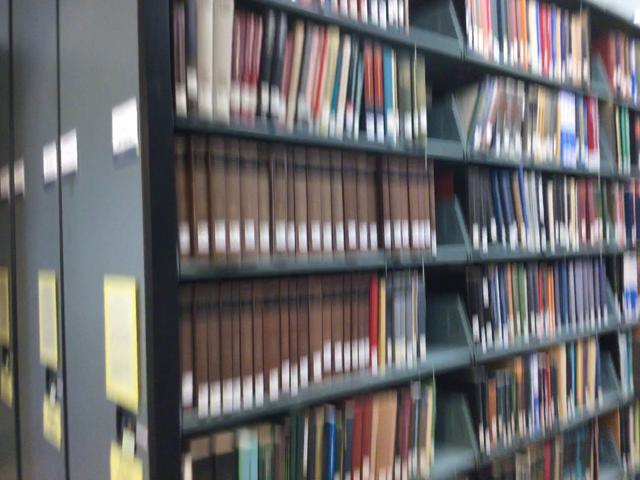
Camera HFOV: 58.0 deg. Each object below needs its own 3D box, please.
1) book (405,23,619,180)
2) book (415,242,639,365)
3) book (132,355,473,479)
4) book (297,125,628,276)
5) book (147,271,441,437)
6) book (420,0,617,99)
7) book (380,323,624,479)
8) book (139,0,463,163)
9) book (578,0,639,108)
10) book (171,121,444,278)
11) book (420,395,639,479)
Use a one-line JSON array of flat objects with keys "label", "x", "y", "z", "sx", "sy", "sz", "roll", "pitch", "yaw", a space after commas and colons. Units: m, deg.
[{"label": "book", "x": 0.690, "y": -0.420, "z": 1.960, "sx": 0.940, "sy": 0.360, "sz": 0.190, "roll": -1, "pitch": -2, "yaw": -38}, {"label": "book", "x": 0.840, "y": 0.180, "z": 2.070, "sx": 1.210, "sy": 0.330, "sz": 0.220, "roll": -1, "pitch": -2, "yaw": -38}, {"label": "book", "x": 0.000, "y": 0.530, "z": 1.440, "sx": 0.840, "sy": 0.340, "sz": 0.280, "roll": -1, "pitch": -2, "yaw": -38}, {"label": "book", "x": 0.540, "y": -0.100, "z": 2.210, "sx": 0.960, "sy": 0.420, "sz": 0.790, "roll": -1, "pitch": -2, "yaw": -38}, {"label": "book", "x": -0.020, "y": 0.230, "z": 1.380, "sx": 0.740, "sy": 0.280, "sz": 0.160, "roll": -1, "pitch": -2, "yaw": -38}, {"label": "book", "x": 0.700, "y": -0.730, "z": 1.940, "sx": 0.910, "sy": 0.350, "sz": 0.150, "roll": -1, "pitch": -2, "yaw": -38}, {"label": "book", "x": 0.650, "y": 0.500, "z": 1.910, "sx": 1.030, "sy": 0.330, "sz": 0.220, "roll": -1, "pitch": -2, "yaw": -38}, {"label": "book", "x": 0.010, "y": -0.390, "z": 1.410, "sx": 0.860, "sy": 0.320, "sz": 0.150, "roll": -1, "pitch": -2, "yaw": -38}, {"label": "book", "x": 1.420, "y": -0.740, "z": 2.420, "sx": 1.020, "sy": 0.350, "sz": 0.150, "roll": -1, "pitch": -2, "yaw": -38}, {"label": "book", "x": 0.020, "y": -0.080, "z": 1.350, "sx": 0.750, "sy": 0.300, "sz": 0.050, "roll": -1, "pitch": -2, "yaw": -38}, {"label": "book", "x": 0.770, "y": 0.790, "z": 1.990, "sx": 0.960, "sy": 0.300, "sz": 0.250, "roll": -1, "pitch": -2, "yaw": -38}]
